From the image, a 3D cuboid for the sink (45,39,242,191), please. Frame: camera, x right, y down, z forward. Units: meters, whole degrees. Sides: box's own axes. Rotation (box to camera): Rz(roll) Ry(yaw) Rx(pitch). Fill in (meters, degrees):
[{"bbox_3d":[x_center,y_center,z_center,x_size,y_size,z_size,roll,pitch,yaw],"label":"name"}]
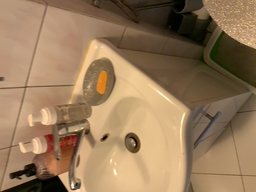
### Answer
[{"bbox_3d":[-0.020,0.160,0.630,0.400,0.150,0.500,41,118,28],"label":"sink"}]
